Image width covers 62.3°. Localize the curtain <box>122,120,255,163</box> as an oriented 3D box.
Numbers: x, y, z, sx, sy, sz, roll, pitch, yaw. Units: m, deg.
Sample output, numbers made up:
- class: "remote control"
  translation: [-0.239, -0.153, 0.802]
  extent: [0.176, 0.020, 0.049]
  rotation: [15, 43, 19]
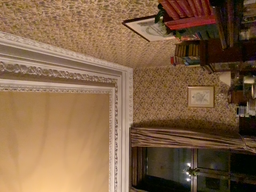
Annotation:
- class: "curtain"
  translation: [1.390, 0.880, 4.400]
  extent: [0.580, 3.130, 0.500]
  rotation: [-9, -81, -63]
